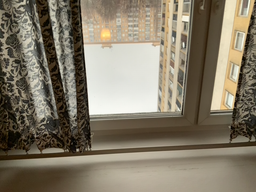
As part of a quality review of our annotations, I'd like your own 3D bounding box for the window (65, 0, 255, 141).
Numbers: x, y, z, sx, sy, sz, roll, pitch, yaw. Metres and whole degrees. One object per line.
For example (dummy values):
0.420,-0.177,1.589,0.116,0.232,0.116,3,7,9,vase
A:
0.350,-0.540,1.250,1.390,1.760,0.160,-1,-157,-1,window
